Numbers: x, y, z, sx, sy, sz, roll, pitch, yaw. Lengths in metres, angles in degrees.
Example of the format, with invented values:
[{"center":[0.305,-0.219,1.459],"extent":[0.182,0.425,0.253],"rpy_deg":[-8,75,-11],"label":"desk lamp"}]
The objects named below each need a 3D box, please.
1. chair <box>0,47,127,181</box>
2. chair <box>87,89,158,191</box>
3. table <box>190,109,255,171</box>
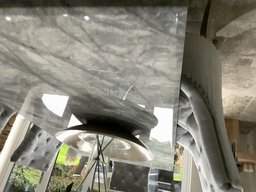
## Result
[{"center":[-0.480,0.140,1.920],"extent":[0.670,1.030,0.520],"rpy_deg":[5,154,14],"label":"chair"},{"center":[0.010,0.560,2.550],"extent":[0.560,1.040,0.670],"rpy_deg":[6,154,11],"label":"chair"},{"center":[1.140,0.550,2.600],"extent":[0.640,0.520,0.620],"rpy_deg":[5,154,13],"label":"table"}]
